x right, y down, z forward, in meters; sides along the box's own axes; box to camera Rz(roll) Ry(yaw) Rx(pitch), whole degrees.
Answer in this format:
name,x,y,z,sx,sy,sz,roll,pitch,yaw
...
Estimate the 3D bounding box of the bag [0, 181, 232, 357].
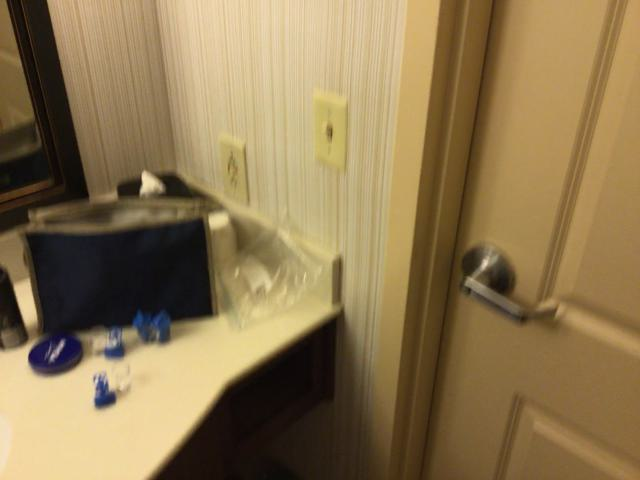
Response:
name,x,y,z,sx,sy,sz,roll,pitch,yaw
bag,-0.330,0.040,0.970,0.310,0.190,0.240,1,30,2
